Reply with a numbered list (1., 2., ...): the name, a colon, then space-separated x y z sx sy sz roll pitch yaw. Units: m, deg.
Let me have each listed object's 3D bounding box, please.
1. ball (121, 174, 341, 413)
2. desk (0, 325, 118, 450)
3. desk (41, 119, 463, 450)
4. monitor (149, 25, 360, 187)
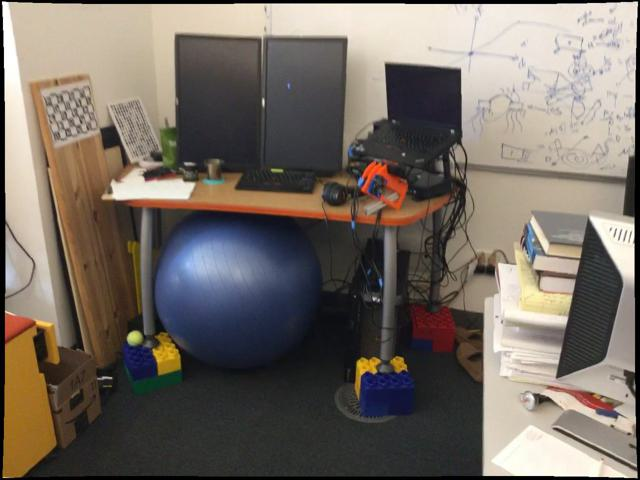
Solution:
1. ball: -0.330 0.180 2.420 0.669 0.691 0.610 9 24 14
2. desk: -0.949 0.521 2.090 0.280 0.270 0.290 9 24 14
3. desk: -0.190 0.070 2.480 1.419 0.861 0.970 8 24 13
4. monitor: -0.260 -0.601 2.490 0.749 0.550 0.450 8 24 13
